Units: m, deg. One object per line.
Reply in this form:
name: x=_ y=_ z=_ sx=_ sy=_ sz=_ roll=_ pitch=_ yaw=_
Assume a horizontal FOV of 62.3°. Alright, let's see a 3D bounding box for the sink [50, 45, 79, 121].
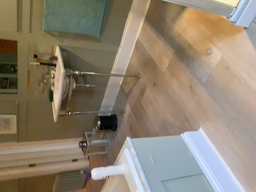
sink: x=-0.690 y=-0.130 z=2.230 sx=0.480 sy=0.150 sz=0.630 roll=64 pitch=143 yaw=41
